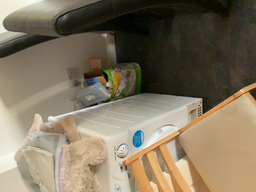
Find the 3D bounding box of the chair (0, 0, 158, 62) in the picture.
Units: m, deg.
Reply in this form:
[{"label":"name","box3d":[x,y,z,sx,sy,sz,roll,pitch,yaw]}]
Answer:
[{"label":"chair","box3d":[-0.340,-0.620,1.330,0.500,1.080,0.690,14,110,43]}]

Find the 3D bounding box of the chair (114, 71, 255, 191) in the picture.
[{"label":"chair","box3d":[0.460,0.260,0.940,0.500,0.780,0.480,57,134,17]}]
